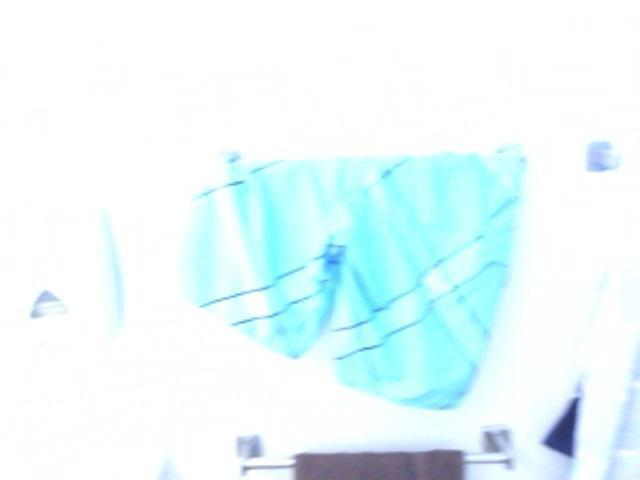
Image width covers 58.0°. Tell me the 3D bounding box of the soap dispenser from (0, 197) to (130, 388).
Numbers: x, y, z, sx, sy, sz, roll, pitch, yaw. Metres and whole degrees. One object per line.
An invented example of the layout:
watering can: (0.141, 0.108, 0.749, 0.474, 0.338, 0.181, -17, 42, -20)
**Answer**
soap dispenser: (-0.420, 0.080, 0.920, 0.160, 0.270, 0.120, -3, 15, 1)
